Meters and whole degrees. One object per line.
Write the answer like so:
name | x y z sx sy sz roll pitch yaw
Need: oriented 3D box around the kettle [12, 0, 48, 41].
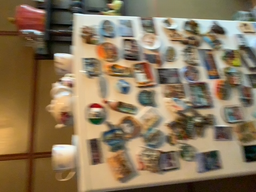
kettle | -0.600 -0.490 1.320 0.160 0.150 0.230 111 155 -64

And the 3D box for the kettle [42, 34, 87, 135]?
kettle | -0.280 -0.010 1.030 0.540 0.140 0.290 115 151 -67

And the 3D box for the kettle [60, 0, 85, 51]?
kettle | -0.400 -0.740 1.570 0.200 0.140 0.900 105 160 -57
